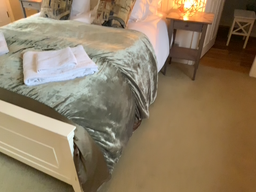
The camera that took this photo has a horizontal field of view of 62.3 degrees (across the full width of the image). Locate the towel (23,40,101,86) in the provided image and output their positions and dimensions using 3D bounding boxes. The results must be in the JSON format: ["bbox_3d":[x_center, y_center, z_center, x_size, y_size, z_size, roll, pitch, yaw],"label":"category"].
[{"bbox_3d":[-0.450,-0.240,1.410,0.450,0.050,0.400,-13,39,-17],"label":"towel"}]
